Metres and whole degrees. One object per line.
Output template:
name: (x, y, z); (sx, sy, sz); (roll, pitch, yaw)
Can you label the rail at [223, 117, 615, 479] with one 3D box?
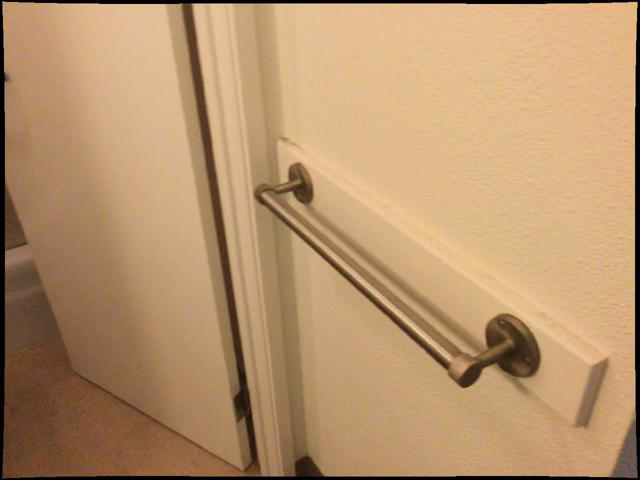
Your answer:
rail: (0.060, 0.030, 0.790); (0.110, 0.150, 0.660); (-21, 41, -24)
